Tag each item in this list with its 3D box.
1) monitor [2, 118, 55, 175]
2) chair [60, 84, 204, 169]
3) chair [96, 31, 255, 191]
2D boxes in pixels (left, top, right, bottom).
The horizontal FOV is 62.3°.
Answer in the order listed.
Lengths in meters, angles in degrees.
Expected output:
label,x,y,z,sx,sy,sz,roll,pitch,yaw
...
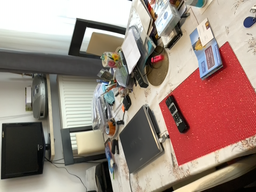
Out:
label,x,y,z,sx,sy,sz,roll,pitch,yaw
monitor,-0.930,0.460,2.000,0.040,0.430,0.480,-38,57,57
chair,0.010,0.250,1.860,0.560,1.060,0.420,-60,40,45
chair,0.460,0.110,0.970,0.350,1.070,0.560,-52,46,51
